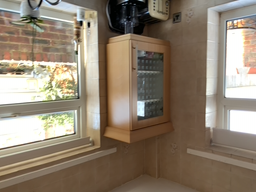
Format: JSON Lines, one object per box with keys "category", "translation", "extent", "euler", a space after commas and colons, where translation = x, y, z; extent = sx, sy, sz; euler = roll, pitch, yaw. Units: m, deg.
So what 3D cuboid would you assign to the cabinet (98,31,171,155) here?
{"category": "cabinet", "translation": [0.080, -0.040, 1.940], "extent": [0.330, 0.950, 0.600], "euler": [4, -173, 45]}
